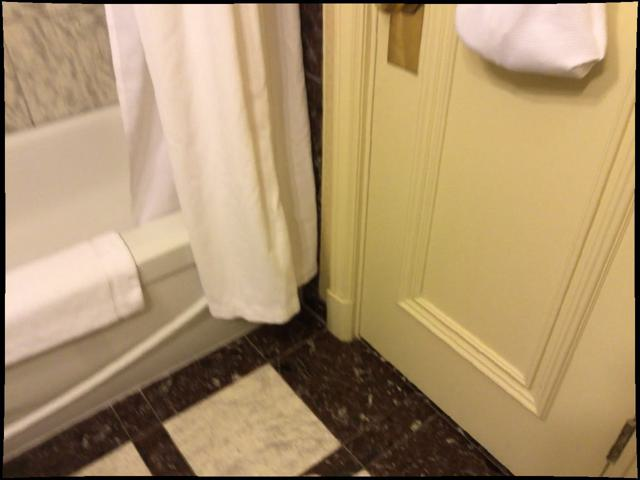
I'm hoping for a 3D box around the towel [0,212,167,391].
[{"bbox_3d":[-0.649,0.170,1.160,0.630,0.170,0.180,-26,48,-27],"label":"towel"}]

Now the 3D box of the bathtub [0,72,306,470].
[{"bbox_3d":[-0.839,0.100,1.420,1.429,0.410,0.770,-26,48,-28],"label":"bathtub"}]
